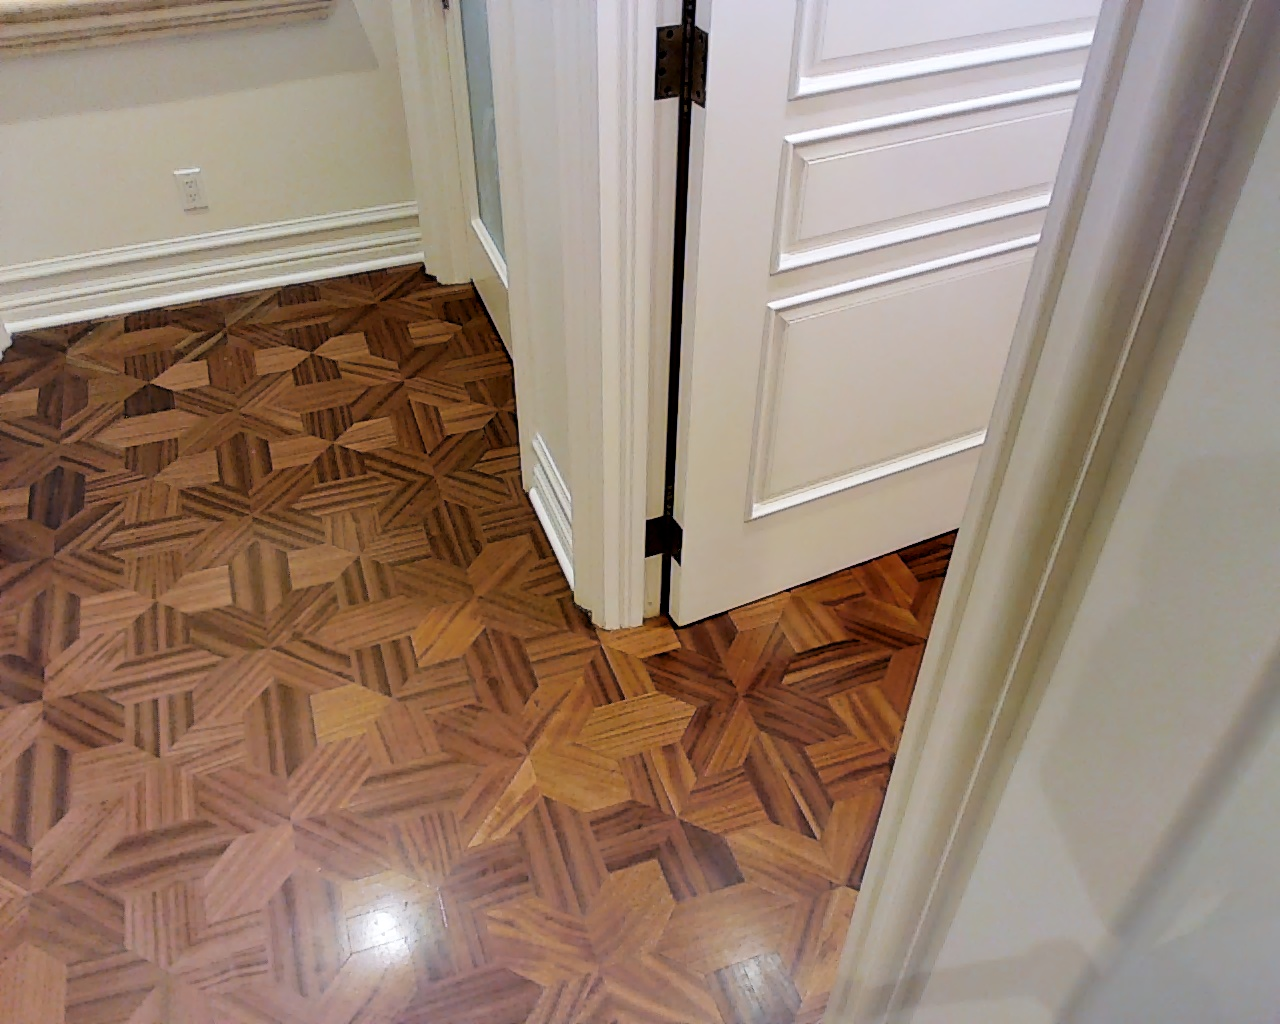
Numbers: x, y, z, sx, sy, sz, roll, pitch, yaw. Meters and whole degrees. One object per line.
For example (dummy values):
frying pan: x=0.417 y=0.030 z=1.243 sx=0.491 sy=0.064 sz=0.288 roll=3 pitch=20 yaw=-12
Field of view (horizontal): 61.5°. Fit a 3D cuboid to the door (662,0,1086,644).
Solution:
door: x=0.380 y=-0.710 z=1.600 sx=0.710 sy=2.310 sz=0.040 roll=-18 pitch=45 yaw=-20
